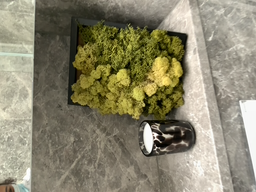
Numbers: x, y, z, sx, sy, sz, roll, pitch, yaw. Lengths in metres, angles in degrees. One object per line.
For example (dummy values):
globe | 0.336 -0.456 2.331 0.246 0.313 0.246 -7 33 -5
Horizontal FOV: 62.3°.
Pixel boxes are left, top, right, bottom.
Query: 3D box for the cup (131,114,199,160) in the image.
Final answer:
cup | 0.080 0.100 0.510 0.130 0.100 0.090 147 121 -65
